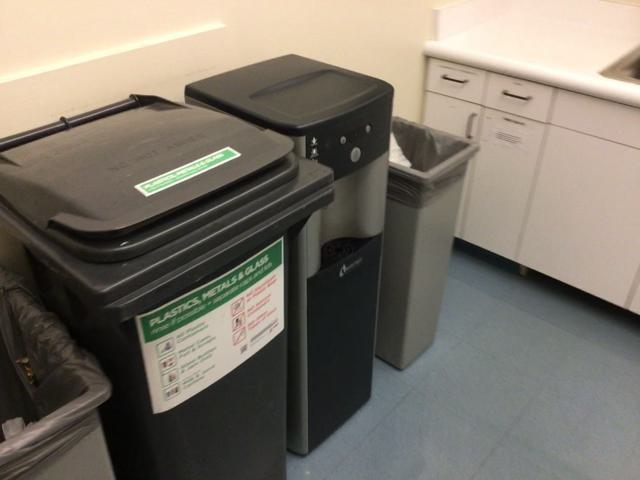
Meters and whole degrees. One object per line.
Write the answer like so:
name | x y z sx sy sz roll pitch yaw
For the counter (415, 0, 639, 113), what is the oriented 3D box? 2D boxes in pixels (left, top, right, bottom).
counter | 1.220 -0.530 1.700 0.710 0.190 1.800 -29 41 -35

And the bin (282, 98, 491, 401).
bin | 0.190 0.020 1.880 0.360 0.780 0.480 -26 40 -32

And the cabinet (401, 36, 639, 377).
cabinet | 1.030 -0.020 1.820 0.240 0.880 1.780 -27 40 -34

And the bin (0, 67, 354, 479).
bin | -0.320 0.270 1.260 0.530 1.060 0.580 -26 40 -32
